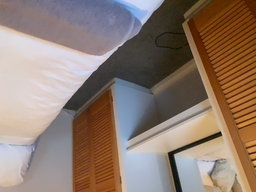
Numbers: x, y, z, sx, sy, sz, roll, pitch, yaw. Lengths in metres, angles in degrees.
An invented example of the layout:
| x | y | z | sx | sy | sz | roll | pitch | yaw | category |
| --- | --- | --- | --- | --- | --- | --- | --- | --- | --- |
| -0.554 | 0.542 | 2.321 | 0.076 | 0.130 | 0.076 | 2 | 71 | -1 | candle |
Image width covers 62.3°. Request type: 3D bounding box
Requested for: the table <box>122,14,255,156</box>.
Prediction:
| x | y | z | sx | sy | sz | roll | pitch | yaw | category |
| --- | --- | --- | --- | --- | --- | --- | --- | --- | --- |
| 0.460 | -0.010 | 1.810 | 0.490 | 0.770 | 0.910 | 15 | 144 | -36 | table |
